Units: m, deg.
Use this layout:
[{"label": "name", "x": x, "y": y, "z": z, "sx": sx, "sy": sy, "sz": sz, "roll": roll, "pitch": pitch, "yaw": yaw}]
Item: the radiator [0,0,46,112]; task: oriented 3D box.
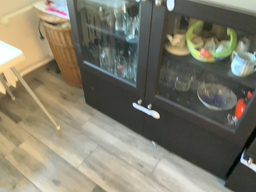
[{"label": "radiator", "x": -1.180, "y": -0.170, "z": 1.530, "sx": 0.220, "sy": 0.770, "sz": 1.030, "roll": 28, "pitch": 49, "yaw": 25}]
